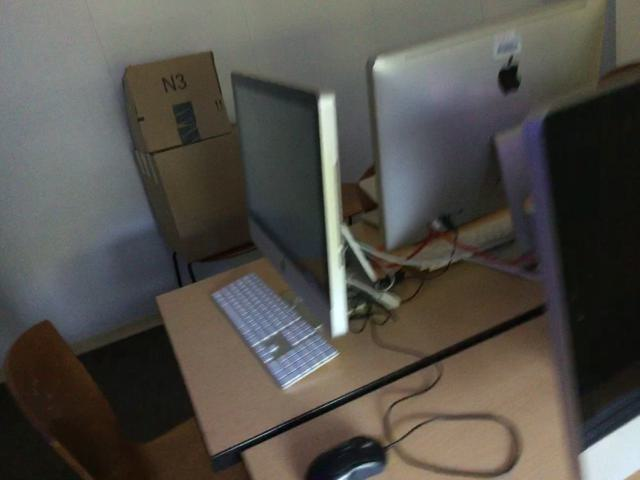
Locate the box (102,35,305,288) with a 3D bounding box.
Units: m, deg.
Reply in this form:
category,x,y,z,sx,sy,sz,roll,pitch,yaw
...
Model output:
category,x,y,z,sx,sy,sz,roll,pitch,yaw
box,-0.430,-0.310,2.160,0.470,0.760,0.410,-21,25,-12
